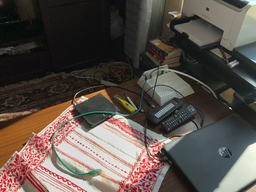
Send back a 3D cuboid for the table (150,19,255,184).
[{"bbox_3d":[0.570,0.010,1.360,0.520,0.710,0.640,-17,46,-21],"label":"table"}]
